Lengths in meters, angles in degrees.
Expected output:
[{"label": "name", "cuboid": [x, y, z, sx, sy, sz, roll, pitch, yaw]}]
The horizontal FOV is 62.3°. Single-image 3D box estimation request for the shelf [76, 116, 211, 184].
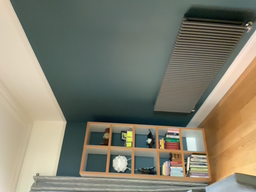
[{"label": "shelf", "cuboid": [0.260, 0.960, 3.810, 0.430, 2.160, 0.990, 97, 176, -57]}]
